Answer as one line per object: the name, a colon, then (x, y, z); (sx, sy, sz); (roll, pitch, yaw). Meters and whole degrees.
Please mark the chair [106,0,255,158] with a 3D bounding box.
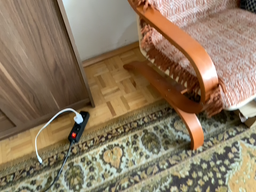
chair: (0.370, -0.410, 0.920); (0.660, 0.970, 0.810); (-26, 56, -16)
